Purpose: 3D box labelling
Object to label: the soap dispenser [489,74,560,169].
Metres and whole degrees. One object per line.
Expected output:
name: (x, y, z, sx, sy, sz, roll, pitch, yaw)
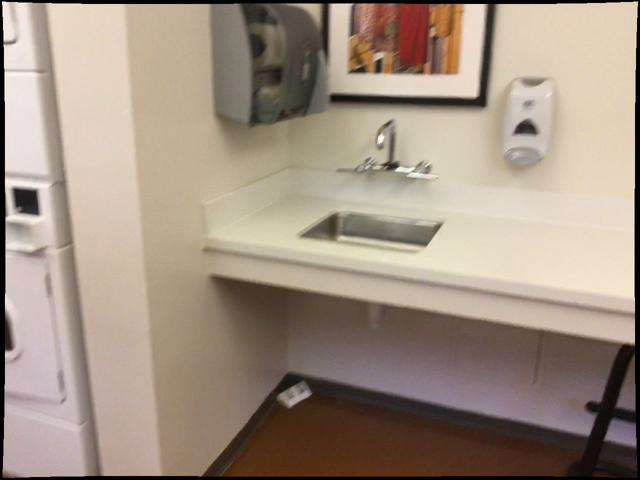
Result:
soap dispenser: (0.649, -0.380, 1.840, 0.180, 0.280, 0.120, 7, 20, 21)
